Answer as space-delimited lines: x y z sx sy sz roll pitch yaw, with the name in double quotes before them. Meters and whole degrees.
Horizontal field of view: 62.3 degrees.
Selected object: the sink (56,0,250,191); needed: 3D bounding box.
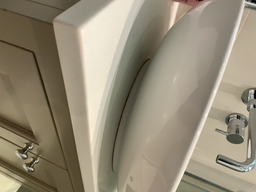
"sink" 0.060 0.070 0.470 0.590 0.120 0.400 97 18 -46
